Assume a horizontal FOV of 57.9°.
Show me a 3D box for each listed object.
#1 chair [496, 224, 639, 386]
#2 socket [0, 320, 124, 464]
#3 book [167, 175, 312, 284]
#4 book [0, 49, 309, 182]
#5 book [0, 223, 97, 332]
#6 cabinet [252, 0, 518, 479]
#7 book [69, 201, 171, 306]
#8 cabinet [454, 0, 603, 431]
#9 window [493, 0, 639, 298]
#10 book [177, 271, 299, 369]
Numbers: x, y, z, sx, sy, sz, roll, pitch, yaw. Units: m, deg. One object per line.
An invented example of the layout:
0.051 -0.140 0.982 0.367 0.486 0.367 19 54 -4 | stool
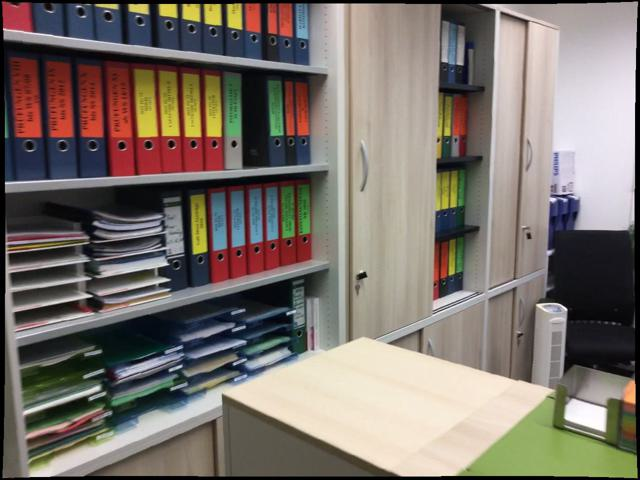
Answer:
1.568 0.300 3.340 0.680 0.601 0.990 9 14 41 | chair
-0.759 0.400 1.610 0.350 0.230 0.250 9 14 41 | socket
-0.270 -0.060 2.090 0.180 0.310 0.520 9 14 41 | book
-0.460 -0.370 1.770 0.160 0.300 1.080 9 14 41 | book
-0.789 0.090 1.590 0.260 0.220 0.220 9 14 41 | book
0.360 -0.020 2.640 0.410 2.242 1.359 9 14 41 | cabinet
-0.589 0.030 1.720 0.160 0.260 0.220 9 14 41 | book
1.259 -0.180 3.430 0.250 2.232 1.249 9 14 41 | cabinet
2.487 -0.581 3.120 2.858 1.902 0.690 9 14 41 | window
-0.300 0.280 2.140 0.300 0.230 0.320 9 14 41 | book
